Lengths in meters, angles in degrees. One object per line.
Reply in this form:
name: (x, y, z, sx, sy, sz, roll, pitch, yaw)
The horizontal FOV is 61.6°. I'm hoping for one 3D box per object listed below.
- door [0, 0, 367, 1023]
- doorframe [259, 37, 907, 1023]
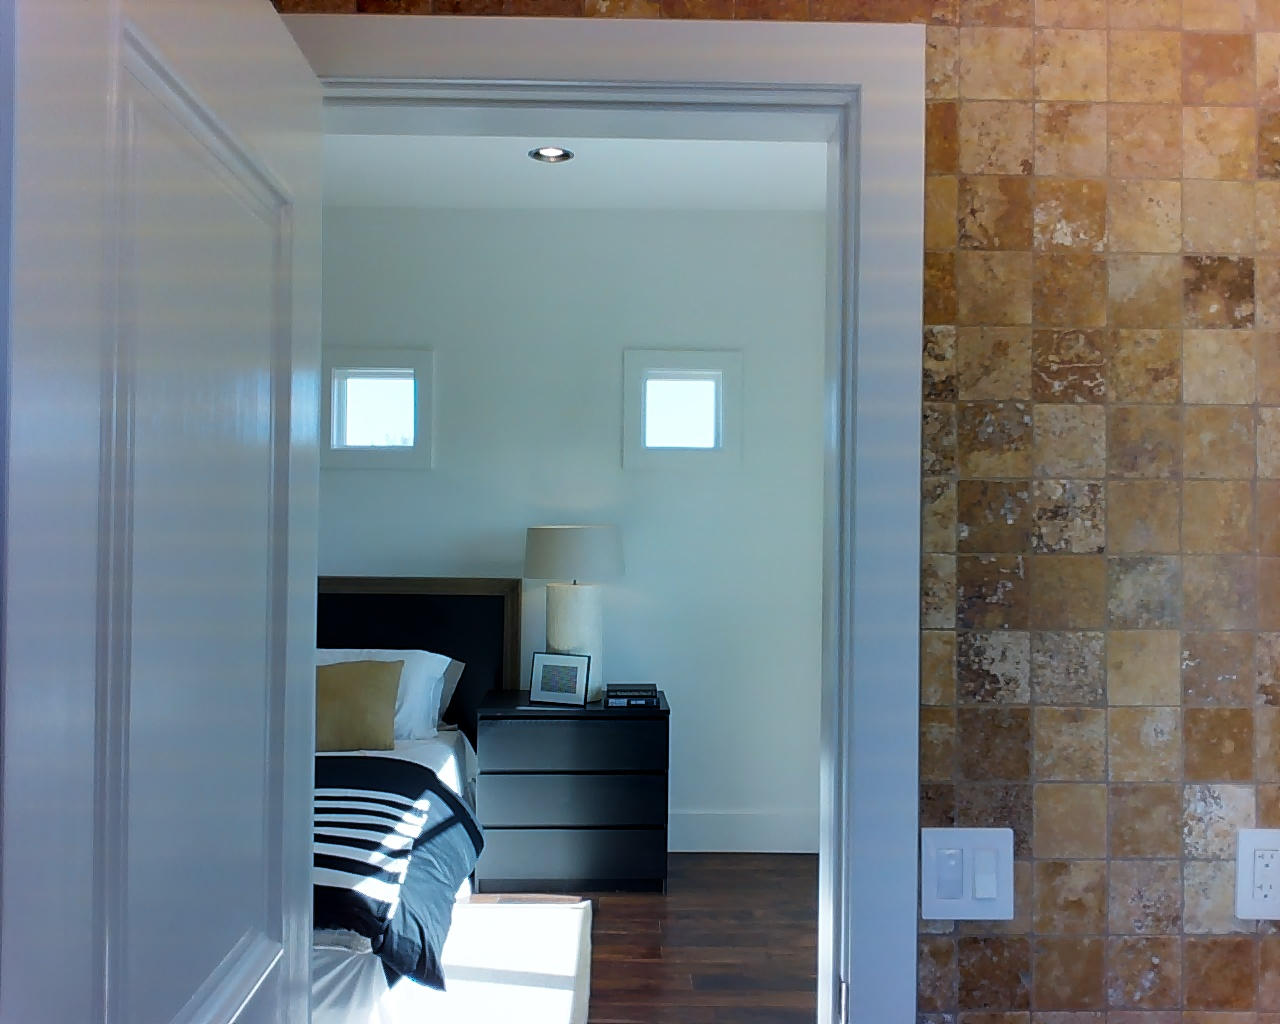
door: (-0.440, 0.410, 1.060, 0.110, 2.290, 0.800, 1, -1, -1)
doorframe: (-0.080, 0.470, 1.530, 0.840, 2.190, 0.220, 1, -1, -1)
